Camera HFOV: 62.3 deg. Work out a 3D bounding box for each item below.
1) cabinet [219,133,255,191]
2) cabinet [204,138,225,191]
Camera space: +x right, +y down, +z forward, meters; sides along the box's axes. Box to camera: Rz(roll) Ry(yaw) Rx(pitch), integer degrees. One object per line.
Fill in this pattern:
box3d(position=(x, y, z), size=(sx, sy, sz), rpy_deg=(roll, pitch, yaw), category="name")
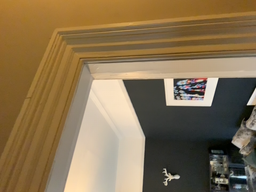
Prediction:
box3d(position=(2.210, 1.290, 3.960), size=(0.310, 0.840, 1.090), rpy_deg=(56, -143, -67), category="cabinet")
box3d(position=(1.650, 1.300, 4.090), size=(0.310, 0.290, 0.930), rpy_deg=(56, -143, -67), category="cabinet")
